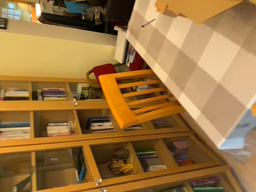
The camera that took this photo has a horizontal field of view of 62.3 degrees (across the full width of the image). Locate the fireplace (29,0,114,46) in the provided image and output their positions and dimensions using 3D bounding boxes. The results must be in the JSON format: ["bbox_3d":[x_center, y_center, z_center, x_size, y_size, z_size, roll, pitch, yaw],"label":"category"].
[{"bbox_3d":[-1.180,-1.670,4.120,1.560,1.300,0.580,60,140,45],"label":"fireplace"}]
